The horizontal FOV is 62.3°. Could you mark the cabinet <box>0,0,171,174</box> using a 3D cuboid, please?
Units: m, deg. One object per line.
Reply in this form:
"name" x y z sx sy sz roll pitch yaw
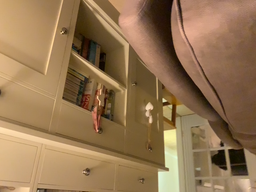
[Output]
"cabinet" -0.260 -0.110 1.280 0.390 0.940 1.520 -14 150 32
